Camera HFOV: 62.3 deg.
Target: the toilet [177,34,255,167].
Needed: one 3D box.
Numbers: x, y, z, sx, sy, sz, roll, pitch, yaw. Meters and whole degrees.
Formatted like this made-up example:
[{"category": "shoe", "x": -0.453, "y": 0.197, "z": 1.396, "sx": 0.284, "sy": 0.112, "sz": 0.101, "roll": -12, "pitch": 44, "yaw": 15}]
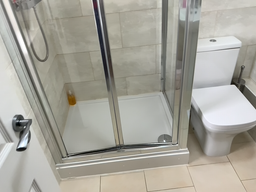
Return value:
[{"category": "toilet", "x": 0.680, "y": 0.030, "z": 1.630, "sx": 0.410, "sy": 0.790, "sz": 0.590, "roll": -5, "pitch": 35, "yaw": 0}]
